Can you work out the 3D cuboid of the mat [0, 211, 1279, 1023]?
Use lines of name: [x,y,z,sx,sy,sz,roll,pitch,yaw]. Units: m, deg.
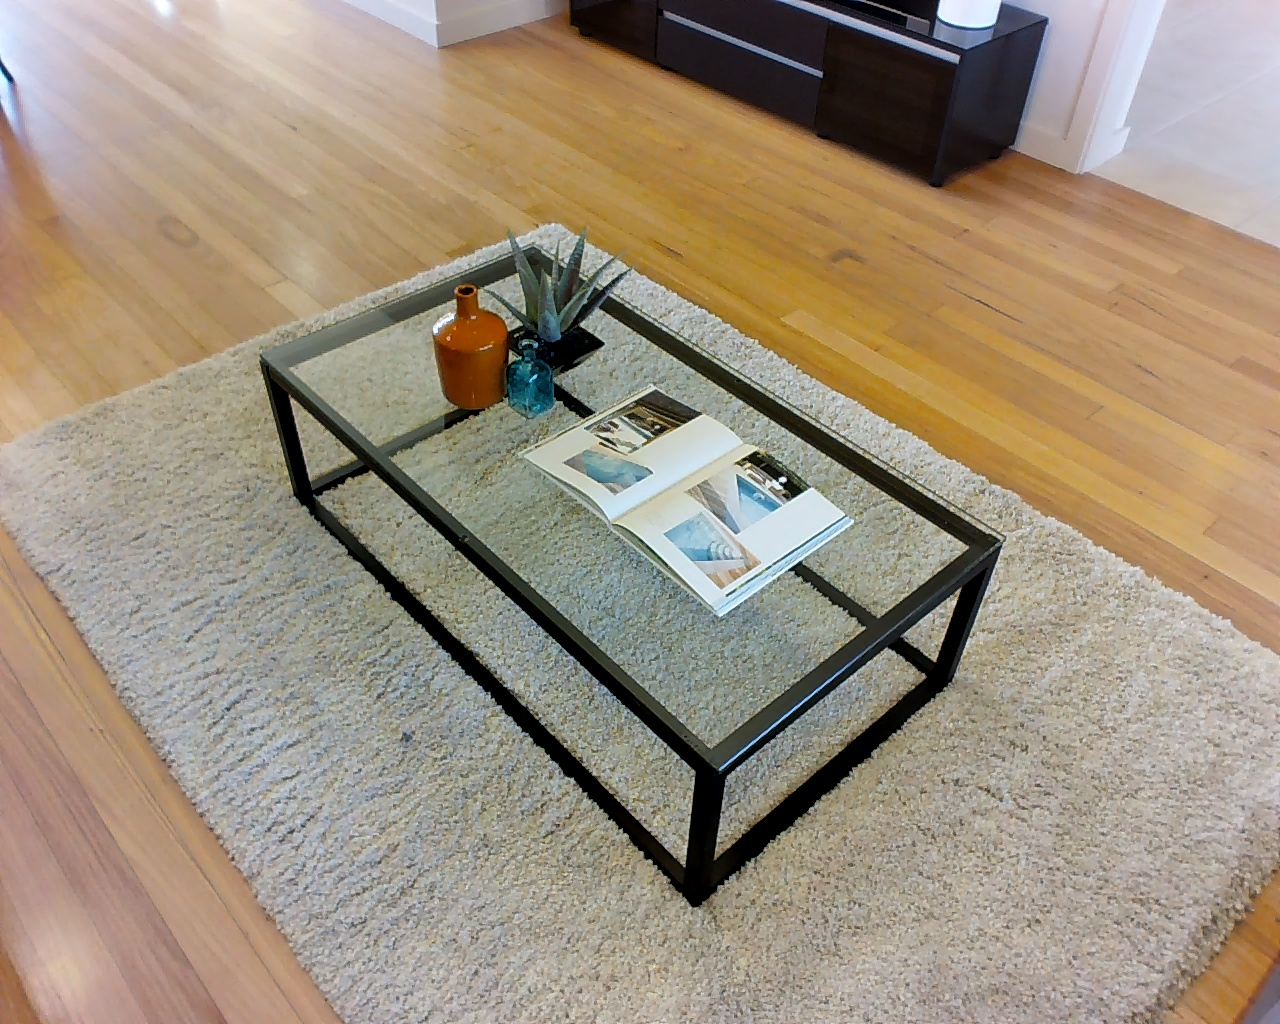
mat: [-0.030,0.400,1.830,2.160,0.070,3.020,-32,53,-31]
